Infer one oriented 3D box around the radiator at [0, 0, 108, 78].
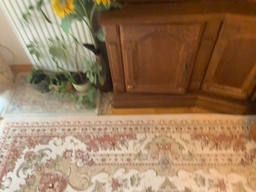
[{"bbox_3d":[-0.520,-0.540,1.420,0.660,0.930,0.230,-3,53,1],"label":"radiator"}]
